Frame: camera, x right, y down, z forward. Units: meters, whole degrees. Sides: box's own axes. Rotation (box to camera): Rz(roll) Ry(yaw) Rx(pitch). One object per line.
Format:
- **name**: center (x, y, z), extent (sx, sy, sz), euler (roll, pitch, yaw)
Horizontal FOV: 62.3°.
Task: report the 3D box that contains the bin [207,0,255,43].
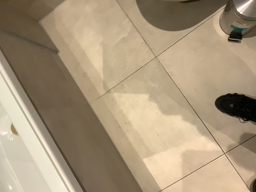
- **bin**: center (0.510, -0.400, 0.930), extent (0.200, 0.270, 0.180), euler (-38, 83, 9)
